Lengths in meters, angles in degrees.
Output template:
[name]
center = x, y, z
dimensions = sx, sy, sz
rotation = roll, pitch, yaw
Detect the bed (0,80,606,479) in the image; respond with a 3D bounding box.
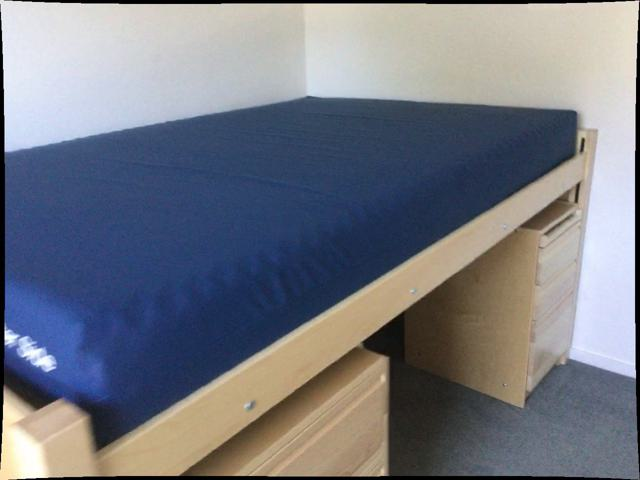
[bed]
center = -0.190, 0.190, 2.010
dimensions = 1.499, 1.142, 2.269
rotation = 14, 27, 36
